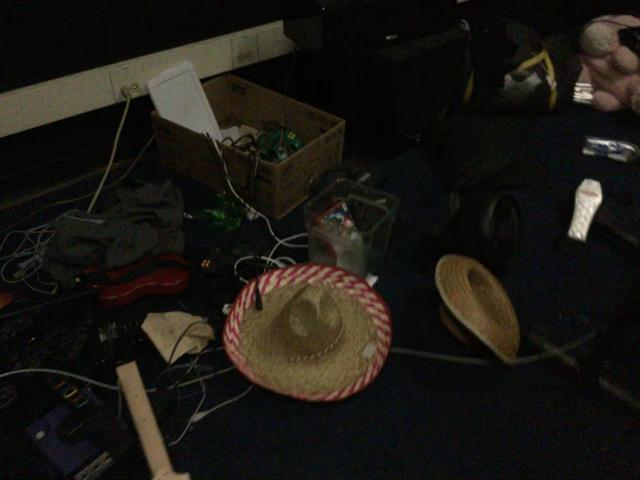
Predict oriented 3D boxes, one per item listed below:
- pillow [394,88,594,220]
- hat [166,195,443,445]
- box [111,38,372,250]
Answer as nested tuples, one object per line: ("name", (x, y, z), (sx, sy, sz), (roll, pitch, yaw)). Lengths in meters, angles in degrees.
("pillow", (0.640, -0.350, 2.170), (0.500, 0.150, 0.500), (-26, 46, -28))
("hat", (-0.050, 0.170, 1.560), (0.500, 0.200, 0.530), (-26, 46, -28))
("box", (-0.270, -0.380, 2.040), (0.640, 0.350, 0.610), (-26, 46, -28))
